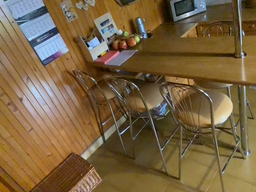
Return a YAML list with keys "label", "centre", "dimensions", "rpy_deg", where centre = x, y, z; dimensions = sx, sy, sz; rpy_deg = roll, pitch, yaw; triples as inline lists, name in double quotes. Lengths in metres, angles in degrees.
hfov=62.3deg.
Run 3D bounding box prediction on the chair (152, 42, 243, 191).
- label: "chair"
  centre: [0.610, 0.210, 1.670]
  dimensions: [0.360, 1.150, 0.450]
  rpy_deg: [16, 48, 44]
